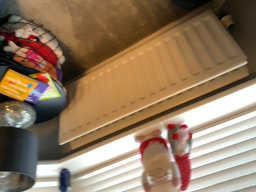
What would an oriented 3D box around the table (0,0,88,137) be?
[{"bbox_3d":[-0.550,-0.120,1.110,0.470,0.400,0.460,-24,142,16],"label":"table"}]
